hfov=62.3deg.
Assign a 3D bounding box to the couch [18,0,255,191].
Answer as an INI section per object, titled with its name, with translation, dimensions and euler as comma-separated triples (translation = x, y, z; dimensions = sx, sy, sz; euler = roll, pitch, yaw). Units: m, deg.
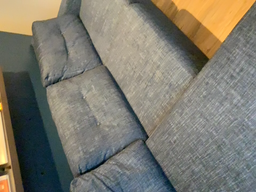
[couch]
translation = -0.030, -0.060, 1.550
dimensions = 0.990, 0.890, 2.630
euler = -58, 49, 35
